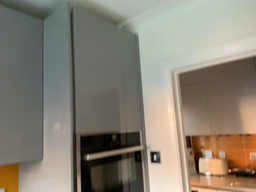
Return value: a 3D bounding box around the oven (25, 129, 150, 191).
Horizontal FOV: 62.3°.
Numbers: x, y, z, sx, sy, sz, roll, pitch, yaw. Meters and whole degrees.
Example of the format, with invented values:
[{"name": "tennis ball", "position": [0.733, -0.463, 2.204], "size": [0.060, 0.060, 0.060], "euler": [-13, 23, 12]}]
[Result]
[{"name": "oven", "position": [-0.290, 0.550, 1.550], "size": [0.630, 0.560, 0.630], "euler": [-11, -11, 39]}]
